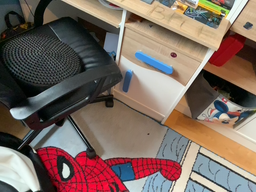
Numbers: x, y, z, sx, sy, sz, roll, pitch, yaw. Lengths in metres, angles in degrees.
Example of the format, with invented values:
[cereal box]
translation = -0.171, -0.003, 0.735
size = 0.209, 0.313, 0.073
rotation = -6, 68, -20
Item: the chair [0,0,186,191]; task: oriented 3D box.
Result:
[chair]
translation = -0.320, -0.140, 0.900
size = 0.680, 0.990, 0.580
rotation = -33, 69, -27
